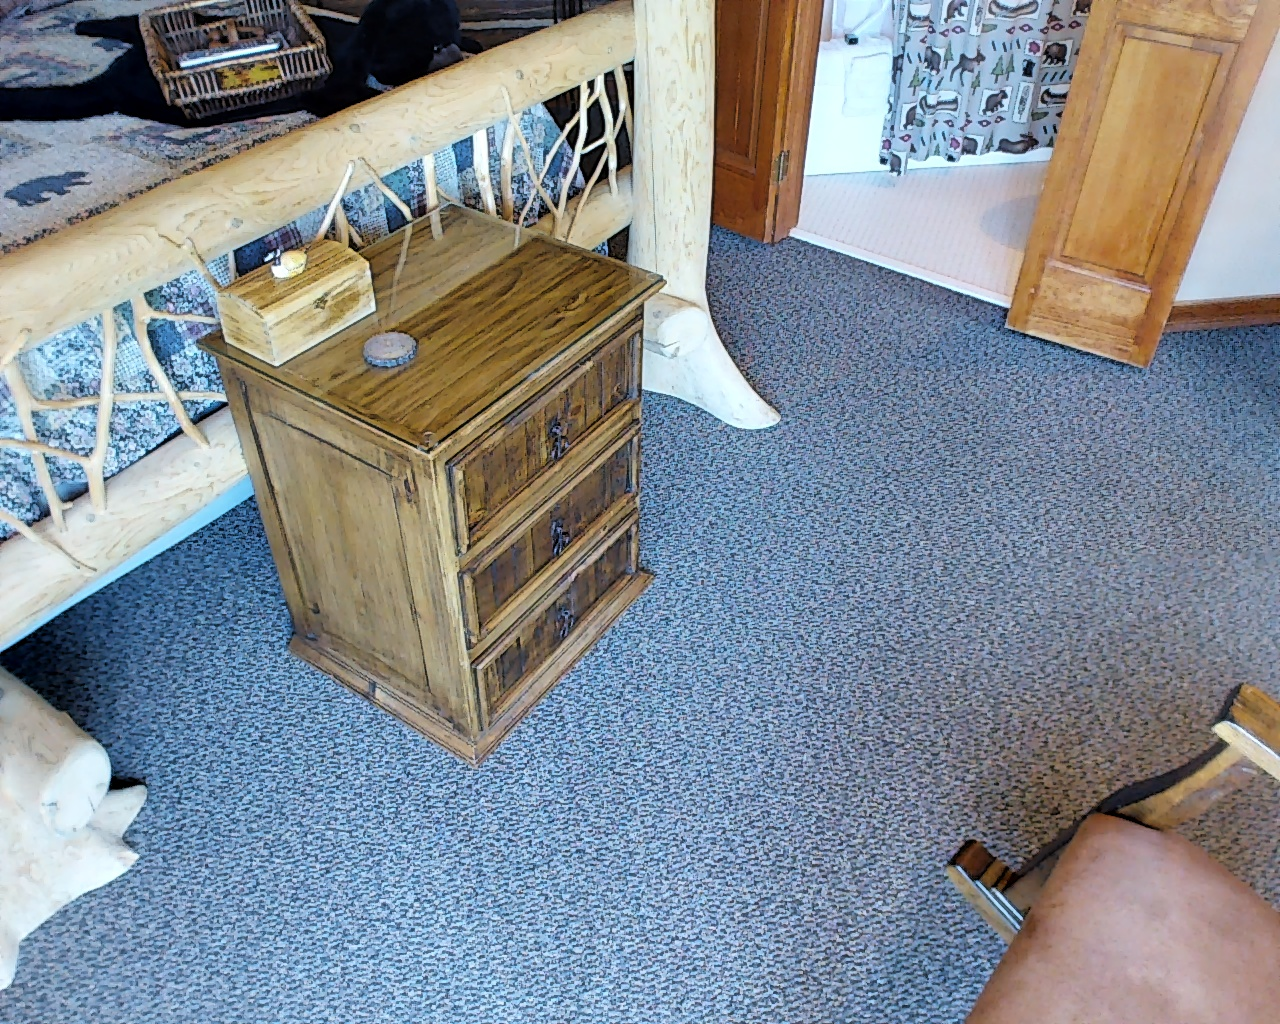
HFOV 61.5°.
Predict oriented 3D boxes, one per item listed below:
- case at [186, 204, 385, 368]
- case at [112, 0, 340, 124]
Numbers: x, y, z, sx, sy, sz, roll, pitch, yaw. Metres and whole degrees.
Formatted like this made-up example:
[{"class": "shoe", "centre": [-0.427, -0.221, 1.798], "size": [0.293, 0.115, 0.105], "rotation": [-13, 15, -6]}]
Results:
[{"class": "case", "centre": [-0.520, -0.340, 1.600], "size": [0.160, 0.120, 0.210], "rotation": [24, 47, 24]}, {"class": "case", "centre": [-0.840, -0.950, 2.150], "size": [0.350, 0.110, 0.490], "rotation": [-17, 45, -18]}]
